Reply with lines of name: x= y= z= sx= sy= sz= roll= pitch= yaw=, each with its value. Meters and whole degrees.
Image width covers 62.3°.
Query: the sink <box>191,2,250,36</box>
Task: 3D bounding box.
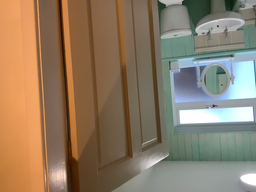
sink: x=1.060 y=-0.890 z=2.520 sx=0.560 sy=0.150 sz=0.450 roll=-5 pitch=179 yaw=14
